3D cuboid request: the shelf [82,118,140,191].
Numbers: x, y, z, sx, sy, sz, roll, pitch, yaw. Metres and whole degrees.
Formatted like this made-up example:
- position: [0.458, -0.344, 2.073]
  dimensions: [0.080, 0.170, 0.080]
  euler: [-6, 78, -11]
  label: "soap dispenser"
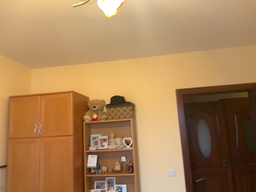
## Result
- position: [-0.180, 1.160, 2.510]
  dimensions: [0.610, 1.740, 0.330]
  euler: [-5, -10, 11]
  label: "shelf"
